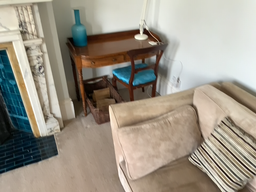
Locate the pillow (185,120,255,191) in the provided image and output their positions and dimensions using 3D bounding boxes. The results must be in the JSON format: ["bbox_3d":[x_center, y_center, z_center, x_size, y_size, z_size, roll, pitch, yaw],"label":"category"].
[{"bbox_3d":[0.600,0.390,1.270,0.380,0.130,0.310,-42,40,3],"label":"pillow"}]

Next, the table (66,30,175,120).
[{"bbox_3d":[-0.090,-0.290,2.550,1.080,0.750,0.520,-14,37,-21],"label":"table"}]

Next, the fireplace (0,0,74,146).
[{"bbox_3d":[-1.460,-0.130,1.800,1.750,1.280,0.460,-14,37,-21],"label":"fireplace"}]
